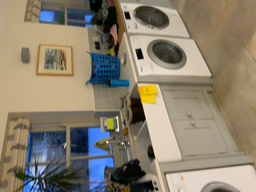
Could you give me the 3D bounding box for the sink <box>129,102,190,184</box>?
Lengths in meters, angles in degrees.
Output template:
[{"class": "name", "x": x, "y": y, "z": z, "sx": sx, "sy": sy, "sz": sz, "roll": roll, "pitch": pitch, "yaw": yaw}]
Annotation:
[{"class": "sink", "x": 0.240, "y": 0.450, "z": 1.980, "sx": 0.630, "sy": 0.240, "sz": 0.510, "roll": 112, "pitch": 153, "yaw": -50}]
